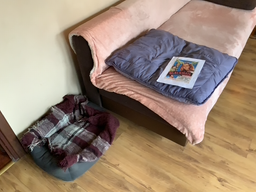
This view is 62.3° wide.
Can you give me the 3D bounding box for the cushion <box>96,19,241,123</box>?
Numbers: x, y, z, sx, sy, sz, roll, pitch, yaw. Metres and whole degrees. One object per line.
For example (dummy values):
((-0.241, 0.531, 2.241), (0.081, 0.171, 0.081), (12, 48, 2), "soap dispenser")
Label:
((0.300, -0.250, 1.510), (0.750, 0.190, 0.700), (23, 48, 24), "cushion")
